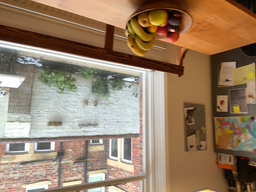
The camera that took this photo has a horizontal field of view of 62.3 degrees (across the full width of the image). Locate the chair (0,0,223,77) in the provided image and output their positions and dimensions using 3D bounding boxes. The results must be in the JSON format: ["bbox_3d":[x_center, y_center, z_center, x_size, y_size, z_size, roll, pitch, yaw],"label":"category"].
[{"bbox_3d":[-0.050,-0.730,1.630,1.850,0.860,0.500,5,171,-35],"label":"chair"}]
